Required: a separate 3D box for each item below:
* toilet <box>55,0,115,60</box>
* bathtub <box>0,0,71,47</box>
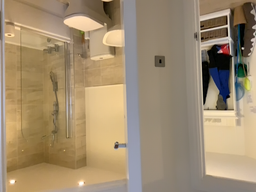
[{"bbox_3d":[-0.540,-0.950,2.740,0.430,0.840,0.620,-3,178,34],"label":"toilet"},{"bbox_3d":[-1.580,-1.080,2.630,0.700,0.530,1.590,-3,178,34],"label":"bathtub"}]
